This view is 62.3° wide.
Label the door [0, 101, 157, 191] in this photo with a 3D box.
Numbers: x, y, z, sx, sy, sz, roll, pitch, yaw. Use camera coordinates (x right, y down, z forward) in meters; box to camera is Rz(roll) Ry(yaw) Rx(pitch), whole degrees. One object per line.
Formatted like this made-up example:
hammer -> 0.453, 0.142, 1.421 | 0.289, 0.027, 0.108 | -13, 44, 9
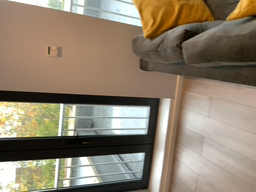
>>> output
door -> -0.550, 0.590, 2.220 | 0.090, 1.800, 1.020 | -162, 76, -65
